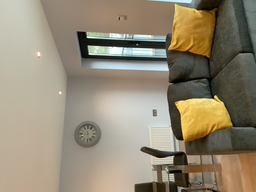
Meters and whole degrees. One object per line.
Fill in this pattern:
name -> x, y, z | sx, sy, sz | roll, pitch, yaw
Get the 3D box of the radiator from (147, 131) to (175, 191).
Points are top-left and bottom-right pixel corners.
radiator -> 0.650, 1.400, 4.210 | 0.140, 0.470, 1.370 | 112, 158, -70

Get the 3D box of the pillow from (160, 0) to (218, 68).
pillow -> 0.720, -0.720, 2.460 | 0.580, 0.500, 0.190 | 62, 178, -34
